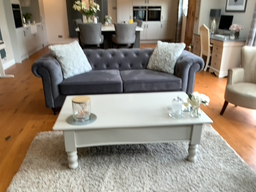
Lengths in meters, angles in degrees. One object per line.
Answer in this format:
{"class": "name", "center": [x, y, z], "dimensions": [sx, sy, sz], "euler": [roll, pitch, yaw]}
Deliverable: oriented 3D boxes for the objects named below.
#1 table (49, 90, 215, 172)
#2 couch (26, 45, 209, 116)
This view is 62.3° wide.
{"class": "table", "center": [0.020, 0.290, 2.120], "dimensions": [1.340, 0.440, 0.730], "euler": [-2, 22, -5]}
{"class": "couch", "center": [-0.140, -0.300, 3.200], "dimensions": [2.230, 0.740, 1.030], "euler": [-2, 22, -5]}
